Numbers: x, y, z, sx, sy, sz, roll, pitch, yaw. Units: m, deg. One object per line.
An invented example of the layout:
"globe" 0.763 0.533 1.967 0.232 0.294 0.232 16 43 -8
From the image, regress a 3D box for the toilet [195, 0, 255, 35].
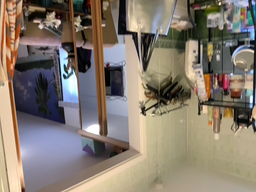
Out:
"toilet" 0.790 -0.630 1.630 0.410 0.240 0.370 5 -170 39

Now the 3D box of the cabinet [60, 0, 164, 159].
"cabinet" -0.200 -0.580 2.180 1.050 2.120 0.450 6 -169 44
